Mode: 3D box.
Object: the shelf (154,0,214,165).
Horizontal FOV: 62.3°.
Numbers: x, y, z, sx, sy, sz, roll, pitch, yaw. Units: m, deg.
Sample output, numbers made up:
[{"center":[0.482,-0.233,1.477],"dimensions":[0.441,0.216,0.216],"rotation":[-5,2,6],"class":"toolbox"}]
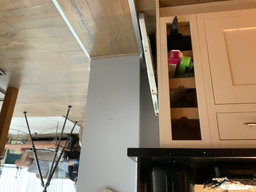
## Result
[{"center":[0.310,-0.060,1.380],"dimensions":[0.230,0.920,0.660],"rotation":[-2,158,9],"class":"shelf"}]
